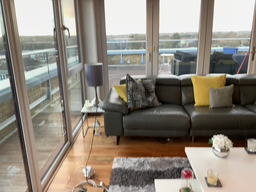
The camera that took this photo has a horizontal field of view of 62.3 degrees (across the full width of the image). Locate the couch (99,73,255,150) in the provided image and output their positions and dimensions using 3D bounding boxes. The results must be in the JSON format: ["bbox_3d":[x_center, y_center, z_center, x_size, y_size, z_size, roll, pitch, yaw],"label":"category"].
[{"bbox_3d":[1.200,0.150,3.010,3.020,0.750,1.040,-1,15,2],"label":"couch"}]
